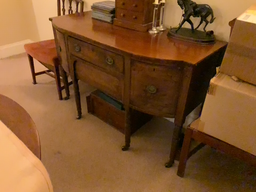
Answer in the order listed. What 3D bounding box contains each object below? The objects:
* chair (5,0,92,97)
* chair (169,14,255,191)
[{"bbox_3d":[-0.800,-0.580,2.270,0.540,0.910,0.540,27,41,33],"label":"chair"},{"bbox_3d":[0.680,0.120,1.220,0.570,0.970,0.500,27,41,33],"label":"chair"}]
